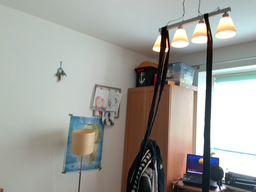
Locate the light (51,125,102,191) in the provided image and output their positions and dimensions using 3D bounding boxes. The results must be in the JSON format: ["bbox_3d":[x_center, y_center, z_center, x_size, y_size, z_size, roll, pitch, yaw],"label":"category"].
[{"bbox_3d":[-0.610,1.090,2.350,0.320,1.480,0.470,9,-7,-39],"label":"light"}]
